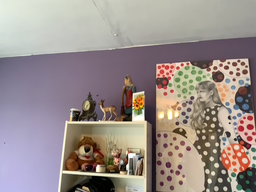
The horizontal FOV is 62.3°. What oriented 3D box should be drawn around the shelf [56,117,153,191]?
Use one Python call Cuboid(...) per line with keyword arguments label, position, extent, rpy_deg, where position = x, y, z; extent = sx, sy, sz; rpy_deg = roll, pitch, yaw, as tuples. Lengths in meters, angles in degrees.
Cuboid(label="shelf", position=(-0.170, 1.060, 1.390), extent=(0.610, 1.810, 0.290), rpy_deg=(-1, -15, 13))
